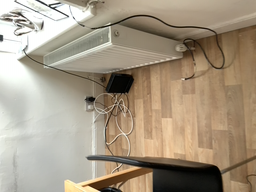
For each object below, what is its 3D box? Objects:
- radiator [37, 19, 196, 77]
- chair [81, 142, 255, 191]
[{"bbox_3d":[-0.140,-0.280,1.620,1.030,0.730,0.120,-3,87,48],"label":"radiator"},{"bbox_3d":[0.250,0.520,1.020,0.400,0.840,0.430,-3,87,48],"label":"chair"}]
